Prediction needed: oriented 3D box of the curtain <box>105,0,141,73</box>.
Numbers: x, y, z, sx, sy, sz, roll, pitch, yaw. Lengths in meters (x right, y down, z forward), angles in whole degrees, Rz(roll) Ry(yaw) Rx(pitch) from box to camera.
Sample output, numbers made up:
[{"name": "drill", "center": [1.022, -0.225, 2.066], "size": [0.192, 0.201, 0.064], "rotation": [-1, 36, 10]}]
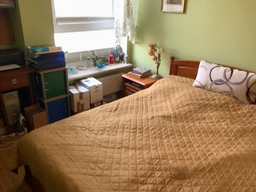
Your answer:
[{"name": "curtain", "center": [-0.070, -1.340, 3.130], "size": [0.440, 1.950, 0.290], "rotation": [-17, 31, -36]}]
